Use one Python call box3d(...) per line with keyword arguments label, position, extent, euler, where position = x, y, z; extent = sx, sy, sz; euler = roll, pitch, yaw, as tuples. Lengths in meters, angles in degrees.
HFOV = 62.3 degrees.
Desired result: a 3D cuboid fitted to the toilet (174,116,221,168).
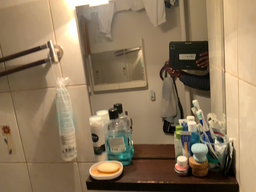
box3d(label="toilet", position=(0.270, 0.170, 0.840), extent=(0.150, 0.110, 0.230), euler=(-3, 13, 16))
